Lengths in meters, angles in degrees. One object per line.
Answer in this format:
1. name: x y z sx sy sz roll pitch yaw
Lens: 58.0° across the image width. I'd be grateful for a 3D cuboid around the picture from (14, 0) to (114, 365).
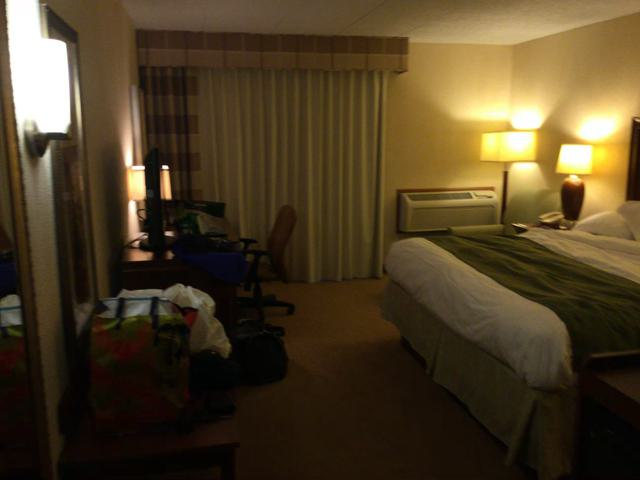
1. picture: -0.840 -0.200 1.970 0.060 1.090 0.560 -4 13 -10
